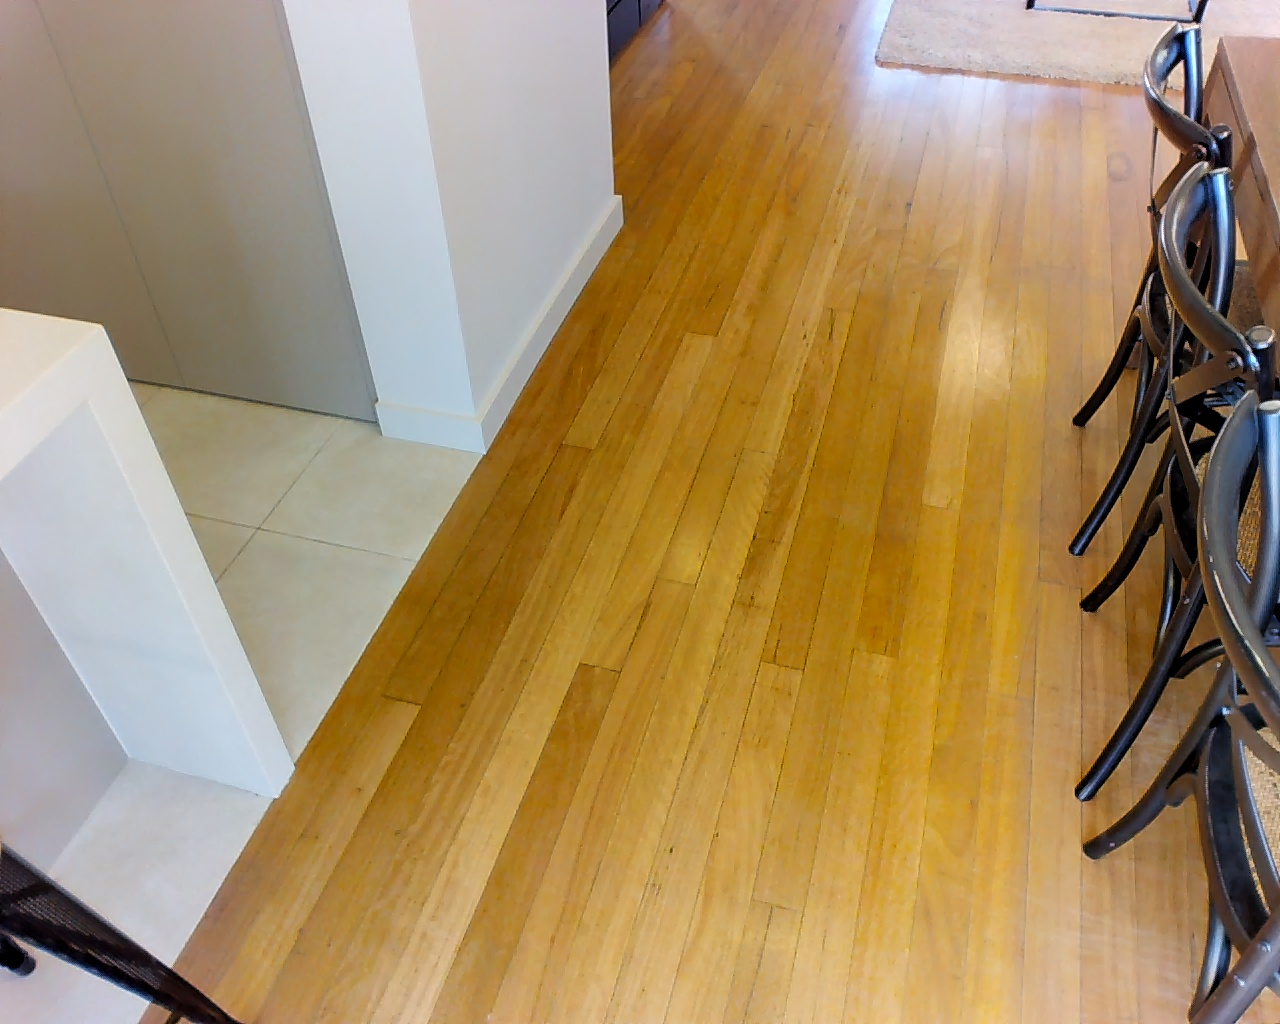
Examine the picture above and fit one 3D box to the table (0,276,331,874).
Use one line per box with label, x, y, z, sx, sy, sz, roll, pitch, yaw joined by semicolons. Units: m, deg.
table;-0.610;0.140;1.460;0.060;0.880;0.280;10;44;12
